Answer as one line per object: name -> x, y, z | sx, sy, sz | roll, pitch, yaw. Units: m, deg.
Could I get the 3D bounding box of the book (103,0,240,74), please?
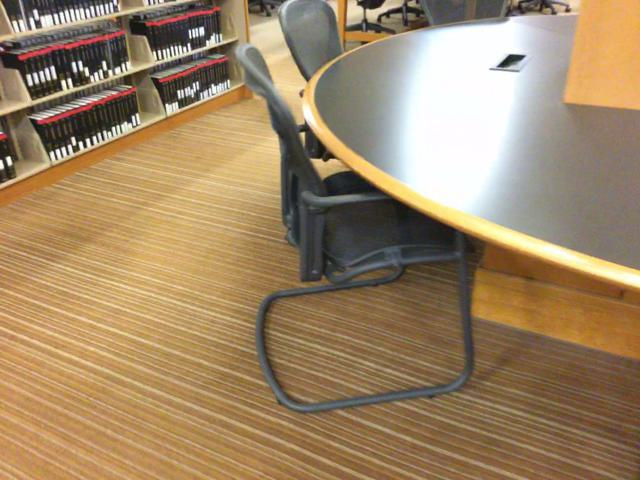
book -> -0.930, -1.380, 3.790 | 0.290, 0.300, 0.930 | 11, 36, 26

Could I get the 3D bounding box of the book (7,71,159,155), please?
book -> -1.270, -0.720, 3.180 | 0.300, 0.190, 0.740 | 11, 36, 26

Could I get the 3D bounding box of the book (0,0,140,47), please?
book -> -1.310, -1.240, 2.910 | 0.220, 0.310, 0.810 | 11, 36, 26

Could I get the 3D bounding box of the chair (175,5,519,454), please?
chair -> 0.050, -0.060, 1.680 | 0.680, 0.990, 0.660 | -13, 32, -10

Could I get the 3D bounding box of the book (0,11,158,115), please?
book -> -1.350, -0.990, 3.140 | 0.380, 0.310, 0.860 | 11, 36, 26
